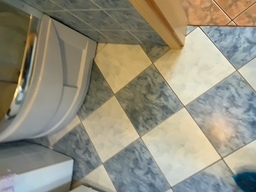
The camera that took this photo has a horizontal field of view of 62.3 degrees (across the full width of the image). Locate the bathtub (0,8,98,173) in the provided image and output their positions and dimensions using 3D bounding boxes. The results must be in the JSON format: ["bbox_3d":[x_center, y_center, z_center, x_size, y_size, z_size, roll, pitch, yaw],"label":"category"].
[{"bbox_3d":[-0.740,-0.070,1.450,0.780,0.500,0.840,10,90,25],"label":"bathtub"}]
